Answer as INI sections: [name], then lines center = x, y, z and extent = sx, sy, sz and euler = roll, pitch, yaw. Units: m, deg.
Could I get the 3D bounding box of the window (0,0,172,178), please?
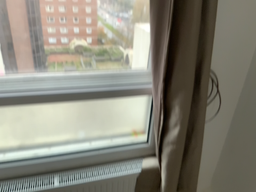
[window]
center = -0.390, -0.320, 0.930
extent = 1.200, 1.670, 0.100
euler = -4, 29, -16

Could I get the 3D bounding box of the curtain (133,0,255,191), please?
[curtain]
center = 0.290, -0.180, 1.000
extent = 0.330, 1.810, 0.270
euler = -4, 29, -15
